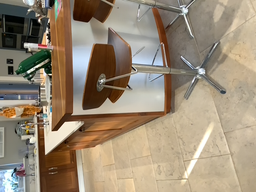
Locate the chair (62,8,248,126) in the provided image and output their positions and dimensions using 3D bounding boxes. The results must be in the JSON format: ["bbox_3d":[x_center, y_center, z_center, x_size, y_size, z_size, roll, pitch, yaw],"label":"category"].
[{"bbox_3d":[0.170,-0.180,1.460,0.510,1.070,0.470,55,135,45],"label":"chair"}]

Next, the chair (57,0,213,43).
[{"bbox_3d":[0.060,-0.760,1.660,0.480,1.070,0.380,55,135,45],"label":"chair"}]
